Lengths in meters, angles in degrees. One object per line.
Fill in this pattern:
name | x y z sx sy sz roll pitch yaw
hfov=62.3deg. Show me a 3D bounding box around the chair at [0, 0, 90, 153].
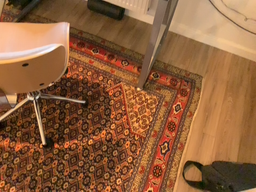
chair | -0.510 -0.150 1.040 0.590 0.830 0.620 -1 60 -8
